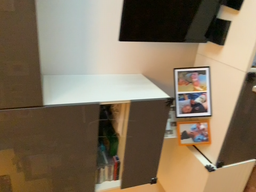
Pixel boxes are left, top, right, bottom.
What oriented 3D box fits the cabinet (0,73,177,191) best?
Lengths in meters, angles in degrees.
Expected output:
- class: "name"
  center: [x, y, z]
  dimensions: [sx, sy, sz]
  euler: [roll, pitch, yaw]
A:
- class: "cabinet"
  center: [-0.460, 0.250, 1.210]
  dimensions: [0.430, 1.310, 0.640]
  euler: [-129, 41, -57]
